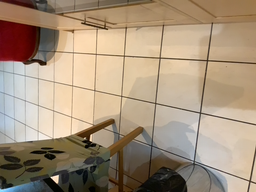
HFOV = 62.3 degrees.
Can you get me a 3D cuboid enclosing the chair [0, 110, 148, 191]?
[{"bbox_3d":[-0.350,0.470,1.290,0.450,0.940,0.560,12,103,36],"label":"chair"}]
